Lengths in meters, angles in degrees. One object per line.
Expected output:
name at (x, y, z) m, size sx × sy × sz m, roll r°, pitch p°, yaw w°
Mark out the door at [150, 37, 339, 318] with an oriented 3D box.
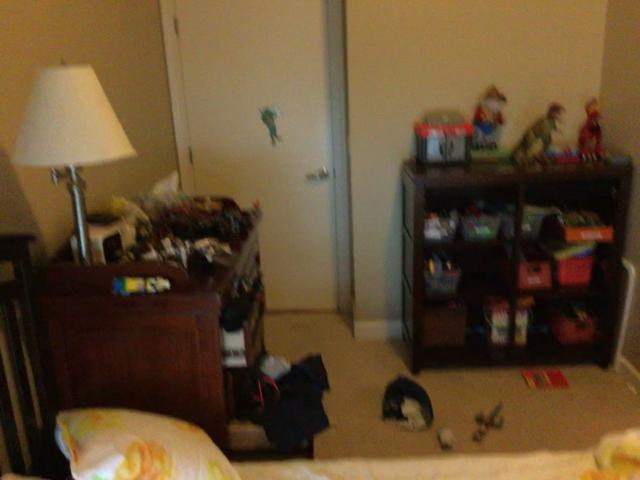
door at (-0.400, -0.320, 3.370) m, size 0.910 × 1.560 × 0.110 m, roll -4°, pitch 15°, yaw 2°
